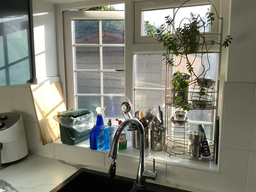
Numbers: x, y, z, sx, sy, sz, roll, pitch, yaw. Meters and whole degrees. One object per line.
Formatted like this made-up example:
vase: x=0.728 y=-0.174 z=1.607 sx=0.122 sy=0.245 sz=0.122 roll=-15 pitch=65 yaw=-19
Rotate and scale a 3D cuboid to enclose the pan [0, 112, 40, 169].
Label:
pan: x=-0.820 y=0.290 z=1.480 sx=0.250 sy=0.290 sz=0.260 roll=4 pitch=9 yaw=25
